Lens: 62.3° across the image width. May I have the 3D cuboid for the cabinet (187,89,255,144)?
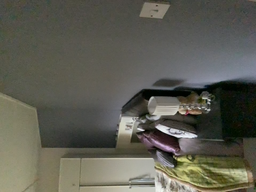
[{"bbox_3d":[0.960,0.200,1.900,0.380,0.730,0.420,137,134,-76],"label":"cabinet"}]

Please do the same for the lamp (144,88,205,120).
[{"bbox_3d":[0.380,0.080,1.810,0.270,0.440,0.230,136,136,-76],"label":"lamp"}]
